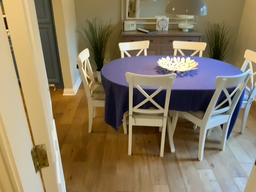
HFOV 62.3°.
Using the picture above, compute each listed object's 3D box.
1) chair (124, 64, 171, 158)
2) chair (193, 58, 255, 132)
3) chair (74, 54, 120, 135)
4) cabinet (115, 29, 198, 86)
[{"bbox_3d":[0.160,0.150,2.140,0.380,0.820,0.450,1,28,0],"label":"chair"},{"bbox_3d":[1.120,-0.010,2.520,0.450,0.780,0.380,-2,28,-5],"label":"chair"},{"bbox_3d":[-0.340,-0.020,2.450,0.450,0.820,0.380,-4,28,-10],"label":"chair"},{"bbox_3d":[0.430,-0.690,3.720,1.310,0.860,0.510,-1,28,-4],"label":"cabinet"}]
